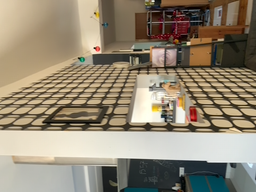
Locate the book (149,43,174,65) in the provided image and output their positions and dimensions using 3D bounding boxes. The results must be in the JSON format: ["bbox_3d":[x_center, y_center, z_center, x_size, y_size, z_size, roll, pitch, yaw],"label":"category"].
[{"bbox_3d":[0.360,-0.470,2.360,0.360,0.250,0.210,-74,-17,-74],"label":"book"}]

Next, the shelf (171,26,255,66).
[{"bbox_3d":[1.170,-0.540,2.260,0.350,1.350,0.370,-76,-14,-71],"label":"shelf"}]
